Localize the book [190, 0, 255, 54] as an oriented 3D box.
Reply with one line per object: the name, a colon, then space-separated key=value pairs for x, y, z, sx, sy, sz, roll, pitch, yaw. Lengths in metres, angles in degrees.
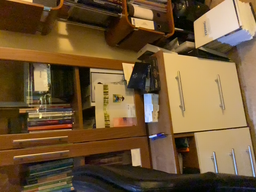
book: x=0.640 y=-0.480 z=1.440 sx=0.290 sy=0.250 sz=0.260 roll=-26 pitch=67 yaw=57
